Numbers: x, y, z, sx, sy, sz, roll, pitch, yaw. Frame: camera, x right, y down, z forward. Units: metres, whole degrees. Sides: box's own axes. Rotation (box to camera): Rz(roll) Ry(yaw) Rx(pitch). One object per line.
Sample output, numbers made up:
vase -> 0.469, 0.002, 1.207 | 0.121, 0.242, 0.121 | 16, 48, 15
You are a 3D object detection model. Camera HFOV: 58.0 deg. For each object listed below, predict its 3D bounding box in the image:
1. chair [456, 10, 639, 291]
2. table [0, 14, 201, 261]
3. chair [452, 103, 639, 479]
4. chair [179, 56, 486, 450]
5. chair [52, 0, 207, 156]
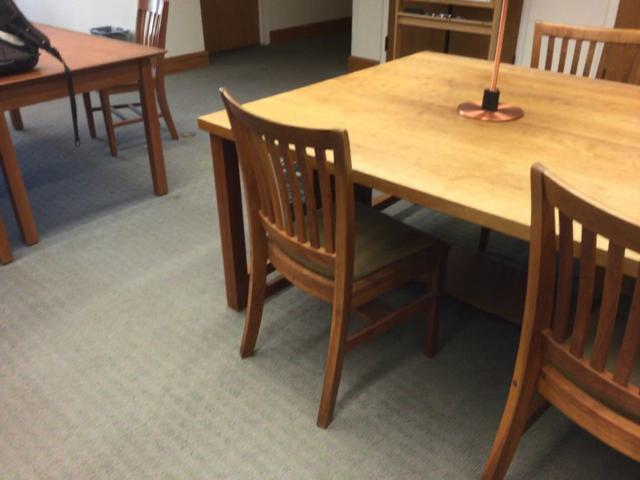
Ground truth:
chair -> 1.030, -0.410, 2.410 | 0.590, 0.920, 0.620 | 22, 36, 35
table -> -1.430, -0.630, 2.960 | 1.250, 0.800, 0.960 | 22, 36, 36
chair -> 0.740, 0.260, 1.290 | 0.570, 0.910, 0.630 | 22, 36, 36
chair -> 0.050, -0.010, 1.760 | 0.550, 0.910, 0.620 | 22, 36, 36
chair -> -1.140, -1.070, 3.560 | 0.460, 0.870, 0.640 | 22, 36, 35
